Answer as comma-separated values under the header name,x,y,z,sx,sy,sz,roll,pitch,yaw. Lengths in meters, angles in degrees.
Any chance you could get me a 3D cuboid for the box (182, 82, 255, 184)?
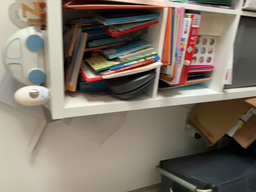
name,x,y,z,sx,sy,sz,roll,pitch,yaw
box,0.750,0.190,1.430,0.460,0.520,0.460,-144,55,-59
